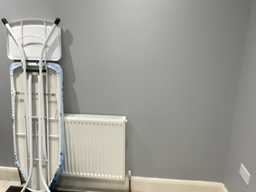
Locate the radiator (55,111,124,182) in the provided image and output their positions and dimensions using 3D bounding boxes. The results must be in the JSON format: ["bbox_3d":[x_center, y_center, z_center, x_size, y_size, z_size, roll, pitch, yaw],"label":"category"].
[{"bbox_3d":[-0.330,0.460,1.900,0.580,0.630,0.070,3,18,6],"label":"radiator"}]
